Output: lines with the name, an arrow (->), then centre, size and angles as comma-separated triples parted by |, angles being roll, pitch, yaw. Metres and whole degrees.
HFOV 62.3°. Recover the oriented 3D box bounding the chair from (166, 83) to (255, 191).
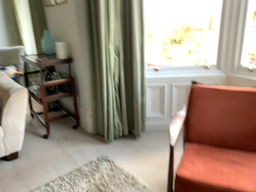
chair -> 0.640, 0.390, 1.390 | 0.630, 0.710, 0.780 | 6, 22, 20
